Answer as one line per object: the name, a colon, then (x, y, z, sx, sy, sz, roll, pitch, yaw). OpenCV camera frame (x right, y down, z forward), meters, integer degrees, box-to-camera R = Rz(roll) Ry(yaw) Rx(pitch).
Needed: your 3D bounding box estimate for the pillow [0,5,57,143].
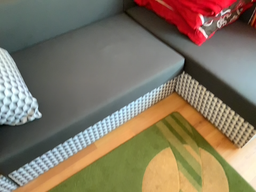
pillow: (-0.760, -0.140, 1.120, 0.440, 0.380, 0.670, -28, 58, -21)

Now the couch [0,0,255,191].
couch: (-0.130, -0.370, 1.540, 2.240, 0.740, 0.950, -30, 58, -22)
